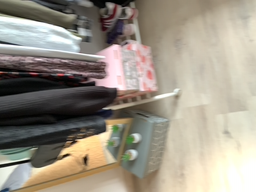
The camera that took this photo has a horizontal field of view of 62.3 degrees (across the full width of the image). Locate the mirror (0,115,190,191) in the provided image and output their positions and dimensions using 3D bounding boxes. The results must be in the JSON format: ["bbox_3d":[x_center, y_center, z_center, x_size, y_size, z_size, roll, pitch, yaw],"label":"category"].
[{"bbox_3d":[-0.220,0.340,0.900,0.360,1.440,0.200,-47,64,30],"label":"mirror"}]
